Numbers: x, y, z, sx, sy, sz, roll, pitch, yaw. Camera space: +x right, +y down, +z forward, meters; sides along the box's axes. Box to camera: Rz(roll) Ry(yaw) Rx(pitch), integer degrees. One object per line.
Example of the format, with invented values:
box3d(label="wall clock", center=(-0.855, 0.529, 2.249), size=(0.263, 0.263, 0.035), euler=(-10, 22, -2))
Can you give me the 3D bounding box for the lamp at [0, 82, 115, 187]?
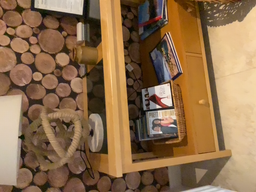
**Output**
box3d(label="lamp", center=(-0.430, 0.170, 0.980), size=(0.390, 0.610, 0.370), euler=(-23, 68, 60))
